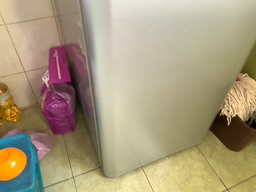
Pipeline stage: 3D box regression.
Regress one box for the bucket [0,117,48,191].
[{"bbox_3d":[-0.420,0.280,0.790,0.160,0.270,0.260,-15,49,-16],"label":"bucket"}]
